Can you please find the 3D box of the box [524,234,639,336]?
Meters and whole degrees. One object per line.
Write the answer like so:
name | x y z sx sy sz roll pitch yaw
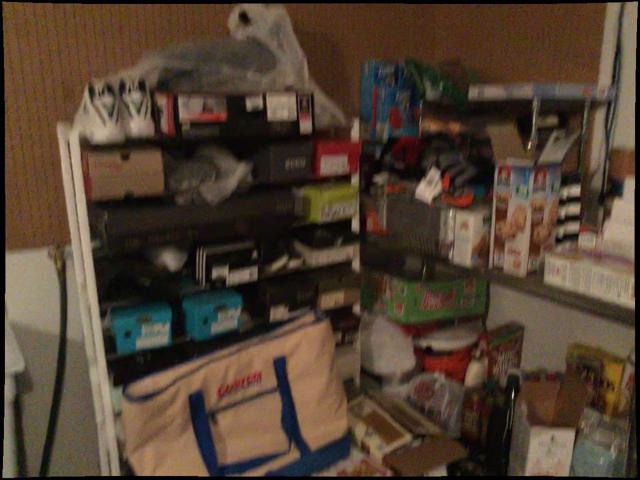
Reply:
box | 0.719 0.100 1.420 0.230 0.130 0.330 -11 18 -32

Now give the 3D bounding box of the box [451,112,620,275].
box | 0.589 -0.150 1.610 0.330 0.380 0.270 -11 18 -32

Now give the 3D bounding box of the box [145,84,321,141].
box | -0.240 -0.370 1.640 0.440 0.130 0.210 -11 18 -32

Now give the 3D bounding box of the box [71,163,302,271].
box | -0.380 -0.090 1.710 0.600 0.190 0.260 -11 18 -32

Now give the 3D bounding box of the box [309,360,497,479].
box | 0.250 0.731 1.930 0.320 0.400 0.550 -11 18 -32

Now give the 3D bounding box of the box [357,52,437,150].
box | 0.290 -0.531 2.200 0.230 0.340 0.190 -11 18 -32

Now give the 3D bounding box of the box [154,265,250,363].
box | -0.370 0.220 1.810 0.210 0.200 0.230 -11 18 -32

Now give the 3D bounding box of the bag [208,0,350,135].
bag | -0.130 -0.551 1.860 0.330 0.380 0.310 -11 18 -32

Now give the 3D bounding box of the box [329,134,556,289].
box | 0.340 -0.130 1.830 0.270 0.340 0.700 -11 18 -32

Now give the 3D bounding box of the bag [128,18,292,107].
bag | -0.310 -0.511 1.680 0.420 0.220 0.180 -11 18 -32

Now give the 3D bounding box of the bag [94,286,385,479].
bag | -0.220 0.521 1.700 0.690 0.541 0.440 -11 18 -32
